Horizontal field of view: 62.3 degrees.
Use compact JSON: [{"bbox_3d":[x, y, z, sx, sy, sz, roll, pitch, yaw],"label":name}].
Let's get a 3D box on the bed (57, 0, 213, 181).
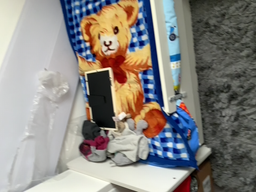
[{"bbox_3d":[0.000,-0.300,1.350,0.770,0.410,1.400,-4,97,42],"label":"bed"}]
